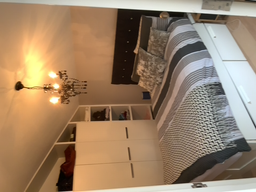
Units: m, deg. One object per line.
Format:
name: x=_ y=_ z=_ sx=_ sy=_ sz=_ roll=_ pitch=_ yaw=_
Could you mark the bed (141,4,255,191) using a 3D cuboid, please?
bed: x=0.840 y=0.070 z=2.910 sx=1.570 sy=0.750 sz=2.130 roll=102 pitch=164 yaw=-51
